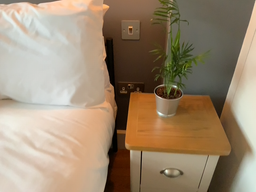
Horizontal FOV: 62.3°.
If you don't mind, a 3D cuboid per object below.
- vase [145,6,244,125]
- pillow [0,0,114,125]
[{"bbox_3d":[0.200,-0.110,0.770,0.250,0.360,0.210,4,35,6],"label":"vase"},{"bbox_3d":[-0.450,-0.160,0.880,0.720,0.470,0.280,3,44,5],"label":"pillow"}]
